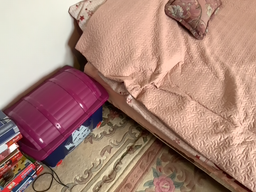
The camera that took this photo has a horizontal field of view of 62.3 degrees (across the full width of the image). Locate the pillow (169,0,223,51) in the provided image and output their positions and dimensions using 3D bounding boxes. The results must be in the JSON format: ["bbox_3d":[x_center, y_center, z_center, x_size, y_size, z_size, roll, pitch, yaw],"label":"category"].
[{"bbox_3d":[0.500,-0.620,1.490,0.110,0.270,0.520,3,64,53],"label":"pillow"}]

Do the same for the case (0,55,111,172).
[{"bbox_3d":[-0.420,0.100,1.340,0.360,0.390,0.520,36,60,21],"label":"case"}]
